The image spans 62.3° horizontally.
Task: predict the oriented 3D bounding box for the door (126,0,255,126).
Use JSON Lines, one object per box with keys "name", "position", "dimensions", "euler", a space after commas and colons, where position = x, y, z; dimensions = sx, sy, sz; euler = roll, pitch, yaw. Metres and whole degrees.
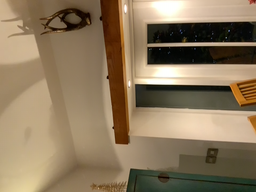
{"name": "door", "position": [1.040, -0.690, 1.730], "dimensions": [0.090, 2.120, 2.200], "euler": [-74, -16, -60]}
